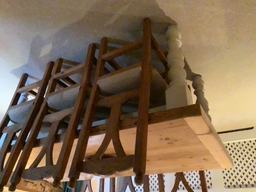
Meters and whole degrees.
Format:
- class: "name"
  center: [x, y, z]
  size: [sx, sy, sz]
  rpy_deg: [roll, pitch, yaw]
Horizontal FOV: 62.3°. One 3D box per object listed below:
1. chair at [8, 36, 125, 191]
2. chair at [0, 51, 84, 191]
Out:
- class: "chair"
  center: [-0.370, 0.150, 1.590]
  size: [0.460, 0.990, 0.490]
  rpy_deg: [-15, 144, 27]
- class: "chair"
  center: [-0.790, 0.230, 1.760]
  size: [0.460, 0.980, 0.520]
  rpy_deg: [-15, 144, 27]
